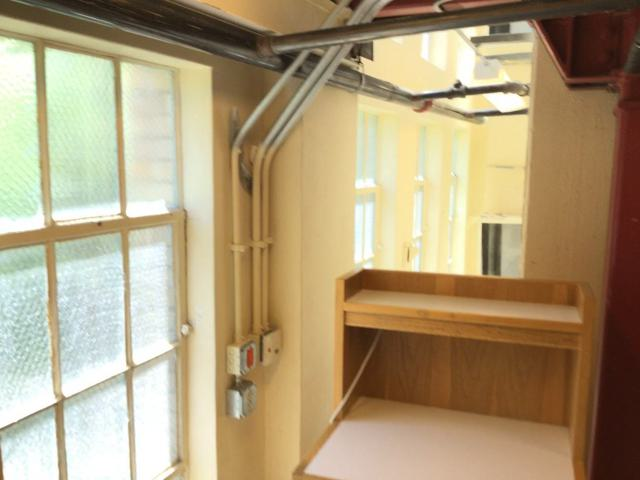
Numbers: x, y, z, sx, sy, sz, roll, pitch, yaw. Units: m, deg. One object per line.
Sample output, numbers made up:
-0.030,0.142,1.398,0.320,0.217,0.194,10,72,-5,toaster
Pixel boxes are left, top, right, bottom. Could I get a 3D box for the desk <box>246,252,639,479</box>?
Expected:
0.400,0.730,1.730,0.880,1.280,0.750,-1,8,22,desk
